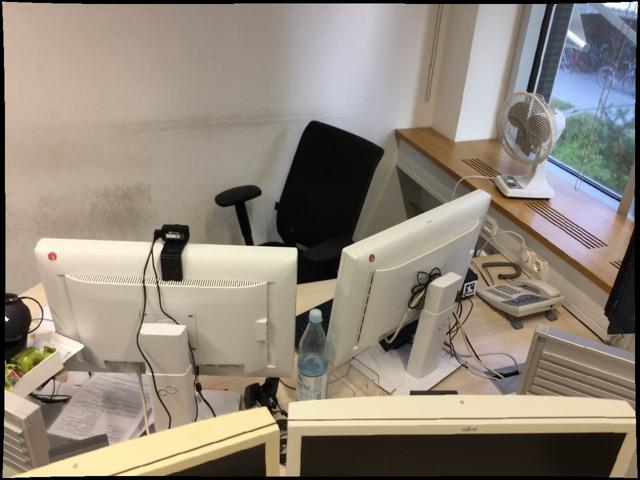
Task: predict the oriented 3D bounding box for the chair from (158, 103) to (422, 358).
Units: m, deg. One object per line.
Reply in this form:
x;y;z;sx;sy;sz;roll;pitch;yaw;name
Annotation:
-0.130;-0.100;2.480;0.810;0.670;0.670;-22;39;-34;chair

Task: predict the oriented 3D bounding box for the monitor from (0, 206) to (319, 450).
-0.350;0.220;1.370;0.669;0.540;0.190;3;31;1;monitor

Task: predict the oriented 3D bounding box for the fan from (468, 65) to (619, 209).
0.839;-0.410;2.240;0.300;0.420;0.370;-9;33;-19;fan

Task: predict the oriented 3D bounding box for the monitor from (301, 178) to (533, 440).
0.260;0.160;1.570;0.610;0.470;0.220;-22;39;-34;monitor

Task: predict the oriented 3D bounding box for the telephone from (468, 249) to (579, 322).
0.689;0.150;1.980;0.260;0.090;0.230;-9;33;-19;telephone
